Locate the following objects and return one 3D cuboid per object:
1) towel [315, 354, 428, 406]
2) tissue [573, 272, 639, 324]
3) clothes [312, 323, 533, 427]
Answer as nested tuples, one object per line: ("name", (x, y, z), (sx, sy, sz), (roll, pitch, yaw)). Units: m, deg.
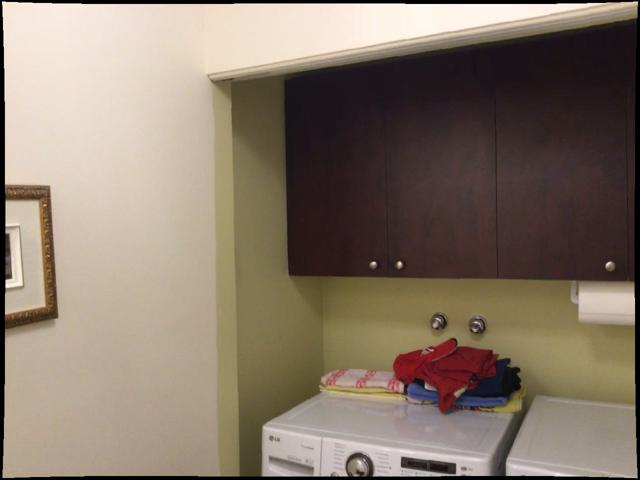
("towel", (0.190, 0.501, 2.100), (0.350, 0.090, 0.220), (0, 2, 28))
("tissue", (0.979, 0.180, 1.800), (0.340, 0.140, 0.140), (0, 2, 28))
("clothes", (0.350, 0.440, 2.000), (0.689, 0.210, 0.300), (0, 2, 28))
